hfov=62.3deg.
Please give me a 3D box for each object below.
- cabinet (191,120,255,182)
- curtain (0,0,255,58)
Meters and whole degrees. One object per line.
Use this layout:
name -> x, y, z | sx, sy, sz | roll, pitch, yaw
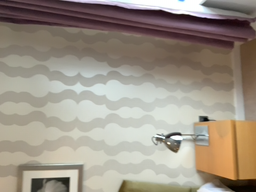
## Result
cabinet -> 0.910, 0.420, 1.750 | 0.520, 0.550, 0.410 | 149, 124, -74
curtain -> 0.000, -0.560, 1.560 | 0.500, 1.920, 0.260 | 166, 107, -76
